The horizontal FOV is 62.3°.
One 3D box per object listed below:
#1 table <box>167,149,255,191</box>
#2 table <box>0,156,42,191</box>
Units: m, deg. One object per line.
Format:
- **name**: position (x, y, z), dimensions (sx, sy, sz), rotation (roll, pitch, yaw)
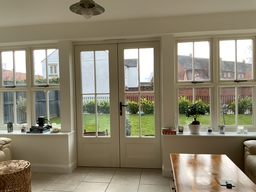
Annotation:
- **table**: position (0.670, 0.900, 1.780), dimensions (0.610, 0.540, 1.250), rotation (-1, 2, 8)
- **table**: position (-1.310, 0.970, 2.340), dimensions (0.470, 0.460, 0.460), rotation (-1, 2, 12)
